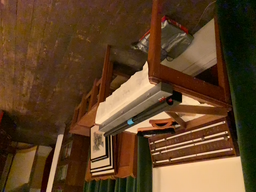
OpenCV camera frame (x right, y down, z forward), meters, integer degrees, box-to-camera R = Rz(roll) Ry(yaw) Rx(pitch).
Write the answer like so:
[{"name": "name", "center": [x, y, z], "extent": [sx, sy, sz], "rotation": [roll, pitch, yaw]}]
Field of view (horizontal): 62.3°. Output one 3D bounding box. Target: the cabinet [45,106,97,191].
[{"name": "cabinet", "center": [-1.000, 1.260, 3.470], "extent": [0.380, 1.920, 1.090], "rotation": [16, 152, -24]}]

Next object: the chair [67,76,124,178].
[{"name": "chair", "center": [-0.380, 0.390, 2.550], "extent": [0.390, 1.070, 0.520], "rotation": [16, 153, -24]}]

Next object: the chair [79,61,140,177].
[{"name": "chair", "center": [-0.170, 0.240, 2.190], "extent": [0.400, 1.070, 0.360], "rotation": [16, 153, -24]}]
